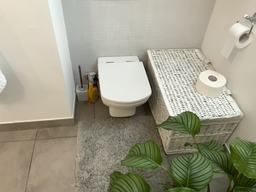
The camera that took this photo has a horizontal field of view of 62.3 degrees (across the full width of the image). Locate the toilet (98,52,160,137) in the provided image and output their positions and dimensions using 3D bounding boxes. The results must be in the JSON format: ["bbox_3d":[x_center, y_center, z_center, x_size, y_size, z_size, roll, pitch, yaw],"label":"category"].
[{"bbox_3d":[-0.030,-0.030,1.710,0.380,0.400,0.540,-4,45,-9],"label":"toilet"}]

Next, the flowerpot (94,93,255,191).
[{"bbox_3d":[0.320,0.480,1.120,0.890,0.600,0.690,-6,46,-11],"label":"flowerpot"}]
